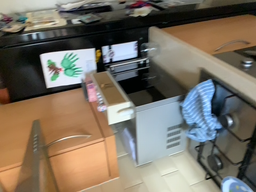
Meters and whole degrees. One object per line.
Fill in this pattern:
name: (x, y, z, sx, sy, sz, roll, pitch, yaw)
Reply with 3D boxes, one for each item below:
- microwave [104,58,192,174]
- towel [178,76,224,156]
microwave: (0.080, 0.080, 1.230, 0.500, 0.280, 0.400, -125, 27, -52)
towel: (0.300, 0.090, 0.910, 0.120, 0.090, 0.320, -126, 27, -53)
